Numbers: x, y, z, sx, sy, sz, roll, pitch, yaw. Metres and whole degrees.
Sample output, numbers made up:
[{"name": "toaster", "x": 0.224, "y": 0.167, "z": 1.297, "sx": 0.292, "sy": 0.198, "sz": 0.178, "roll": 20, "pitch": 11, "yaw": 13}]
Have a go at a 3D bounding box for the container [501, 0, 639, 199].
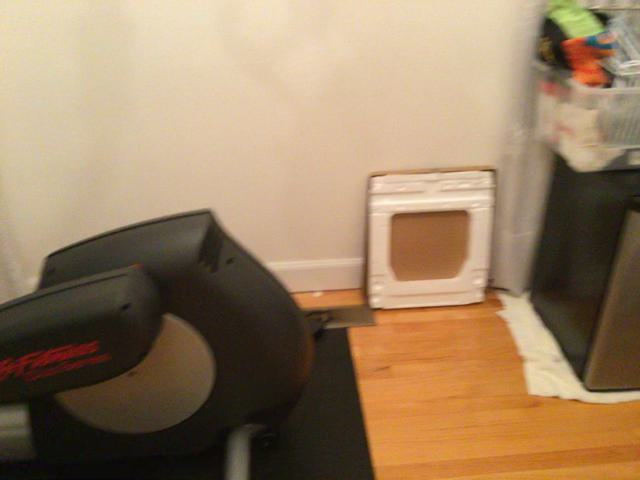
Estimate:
[{"name": "container", "x": 0.920, "y": -0.440, "z": 1.650, "sx": 0.570, "sy": 0.480, "sz": 0.500, "roll": -1, "pitch": 28, "yaw": -3}]
